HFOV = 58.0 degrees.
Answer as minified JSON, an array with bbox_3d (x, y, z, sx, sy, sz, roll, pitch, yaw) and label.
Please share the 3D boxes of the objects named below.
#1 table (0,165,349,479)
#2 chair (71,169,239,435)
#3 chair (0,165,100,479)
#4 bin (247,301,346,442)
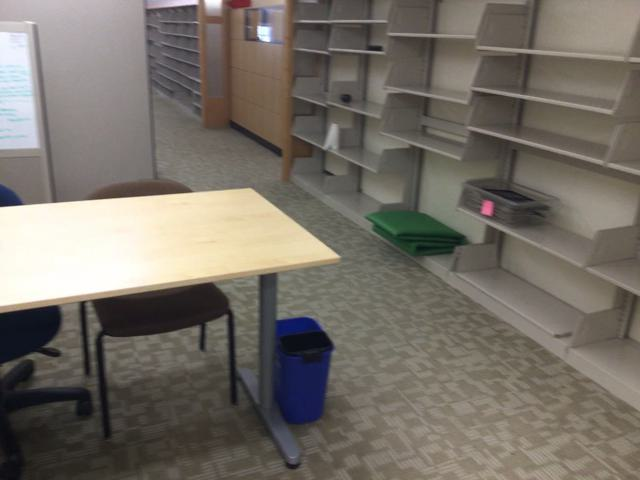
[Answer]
[{"bbox_3d":[-0.870,0.320,1.750,1.620,0.810,0.910,-6,24,-23],"label":"table"},{"bbox_3d":[-0.600,0.180,2.090,0.460,0.720,0.570,-6,24,-23],"label":"chair"},{"bbox_3d":[-1.110,0.250,1.860,0.640,0.800,0.680,-6,24,-23],"label":"chair"},{"bbox_3d":[-0.100,0.470,2.130,0.240,0.340,0.340,-6,24,-23],"label":"bin"}]
